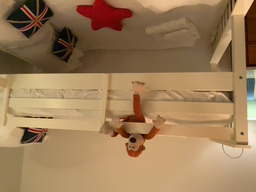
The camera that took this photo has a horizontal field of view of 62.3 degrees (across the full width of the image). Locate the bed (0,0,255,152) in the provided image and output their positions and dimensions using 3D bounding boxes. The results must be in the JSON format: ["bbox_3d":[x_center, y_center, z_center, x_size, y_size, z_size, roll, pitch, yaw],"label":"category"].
[{"bbox_3d":[-0.240,-0.460,1.730,2.060,1.490,1.570,1,172,12],"label":"bed"}]
